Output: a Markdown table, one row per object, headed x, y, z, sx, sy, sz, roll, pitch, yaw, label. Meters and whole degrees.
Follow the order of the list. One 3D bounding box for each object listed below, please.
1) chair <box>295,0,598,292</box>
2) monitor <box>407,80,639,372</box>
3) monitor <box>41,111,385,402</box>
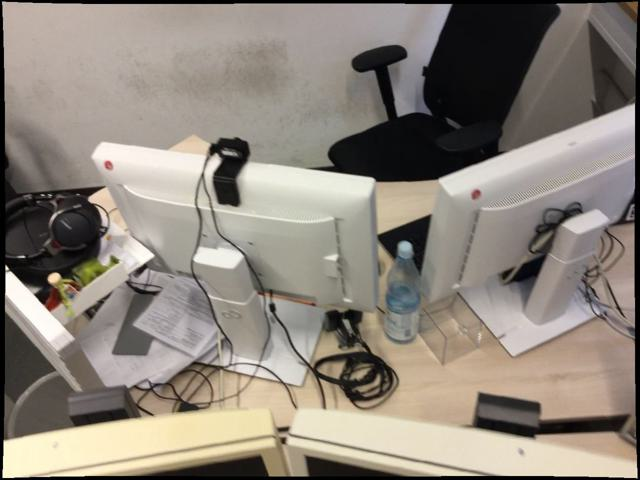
| x | y | z | sx | sy | sz | roll | pitch | yaw | label |
| --- | --- | --- | --- | --- | --- | --- | --- | --- | --- |
| 0.420 | -0.460 | 2.270 | 0.769 | 1.010 | 0.630 | -19 | 49 | -10 | chair |
| 0.499 | -0.020 | 1.280 | 0.560 | 0.490 | 0.210 | -19 | 49 | -11 | monitor |
| -0.170 | 0.050 | 1.250 | 0.579 | 0.550 | 0.240 | 9 | 50 | 14 | monitor |
